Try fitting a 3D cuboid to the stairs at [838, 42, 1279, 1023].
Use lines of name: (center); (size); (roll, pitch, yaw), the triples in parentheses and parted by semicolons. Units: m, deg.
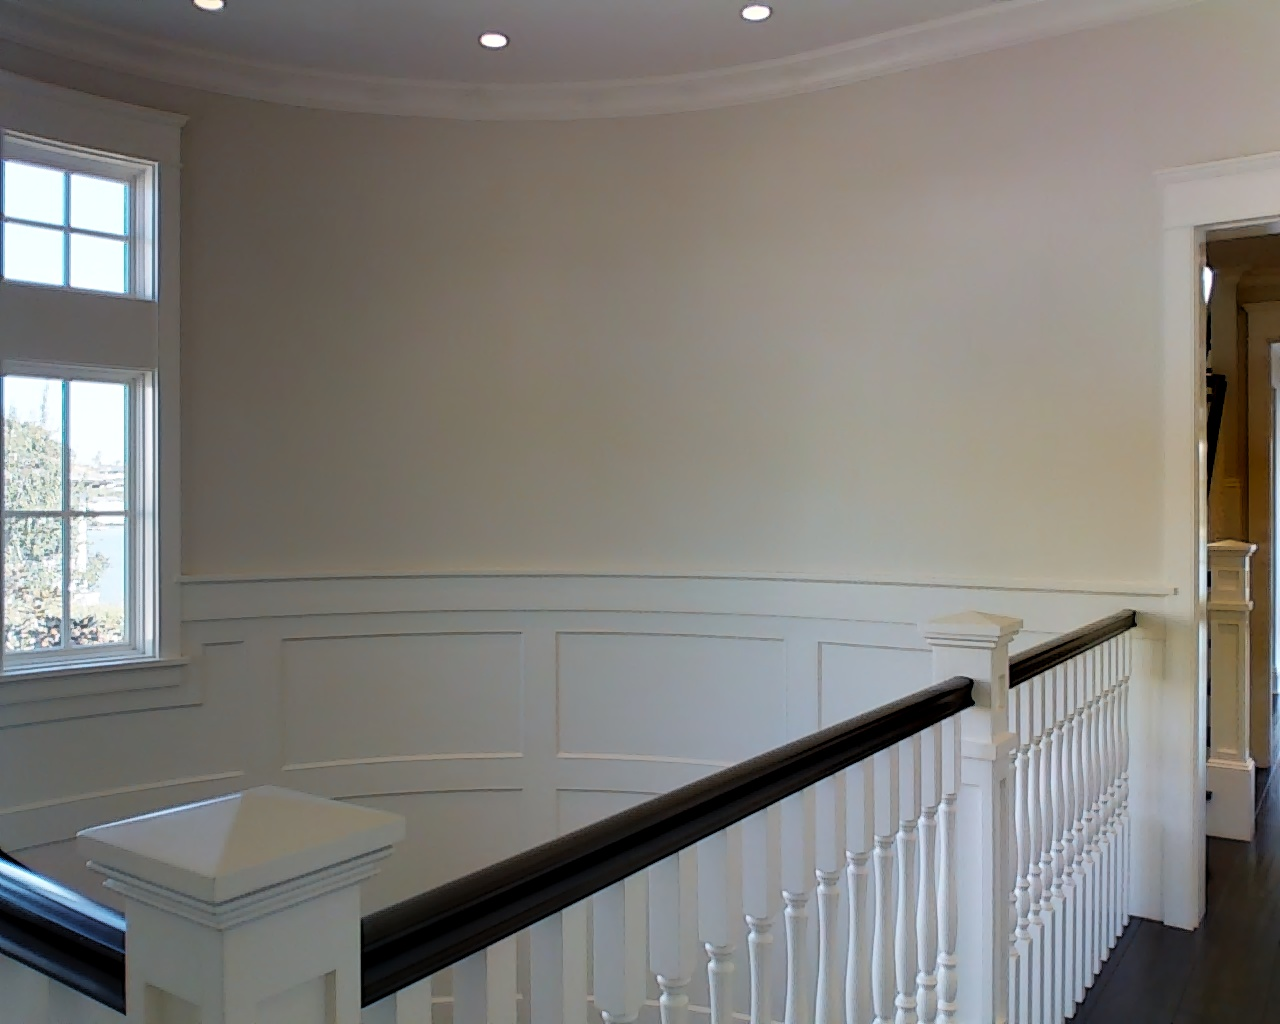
stairs: (2.709, 0.330, 4.050); (2.169, 2.671, 4.509); (0, 1, 35)
